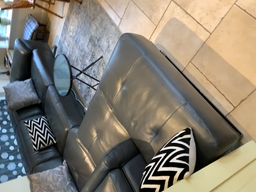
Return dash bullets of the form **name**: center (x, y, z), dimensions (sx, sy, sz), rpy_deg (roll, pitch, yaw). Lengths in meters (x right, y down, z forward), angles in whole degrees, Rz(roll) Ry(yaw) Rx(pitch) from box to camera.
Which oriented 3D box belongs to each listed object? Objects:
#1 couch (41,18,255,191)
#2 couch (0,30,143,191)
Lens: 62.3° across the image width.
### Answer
- **couch**: center (-0.010, 0.340, 1.640), dimensions (1.040, 0.760, 1.340), rpy_deg (55, 133, 29)
- **couch**: center (-0.990, 0.470, 2.830), dimensions (2.980, 0.750, 1.070), rpy_deg (55, 133, 29)
